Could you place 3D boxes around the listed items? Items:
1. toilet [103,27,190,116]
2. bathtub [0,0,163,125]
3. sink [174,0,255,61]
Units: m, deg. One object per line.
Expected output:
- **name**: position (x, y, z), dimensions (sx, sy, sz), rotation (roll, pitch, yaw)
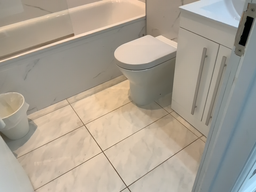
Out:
- **toilet**: position (0.150, -0.220, 1.750), dimensions (0.550, 0.460, 0.370), rotation (-26, 45, -24)
- **bathtub**: position (-0.530, -0.480, 2.050), dimensions (1.650, 0.540, 0.690), rotation (-26, 45, -23)
- **sink**: position (0.640, -0.410, 1.140), dimensions (0.470, 0.130, 0.600), rotation (-26, 45, -23)
